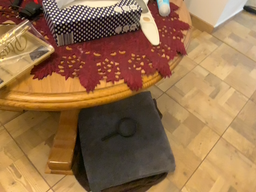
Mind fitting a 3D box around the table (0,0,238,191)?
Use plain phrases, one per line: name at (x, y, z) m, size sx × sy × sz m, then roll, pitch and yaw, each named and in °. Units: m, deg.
table at (-0.260, -0.150, 0.910) m, size 0.870 × 0.630 × 0.840 m, roll 40°, pitch 56°, yaw 19°
